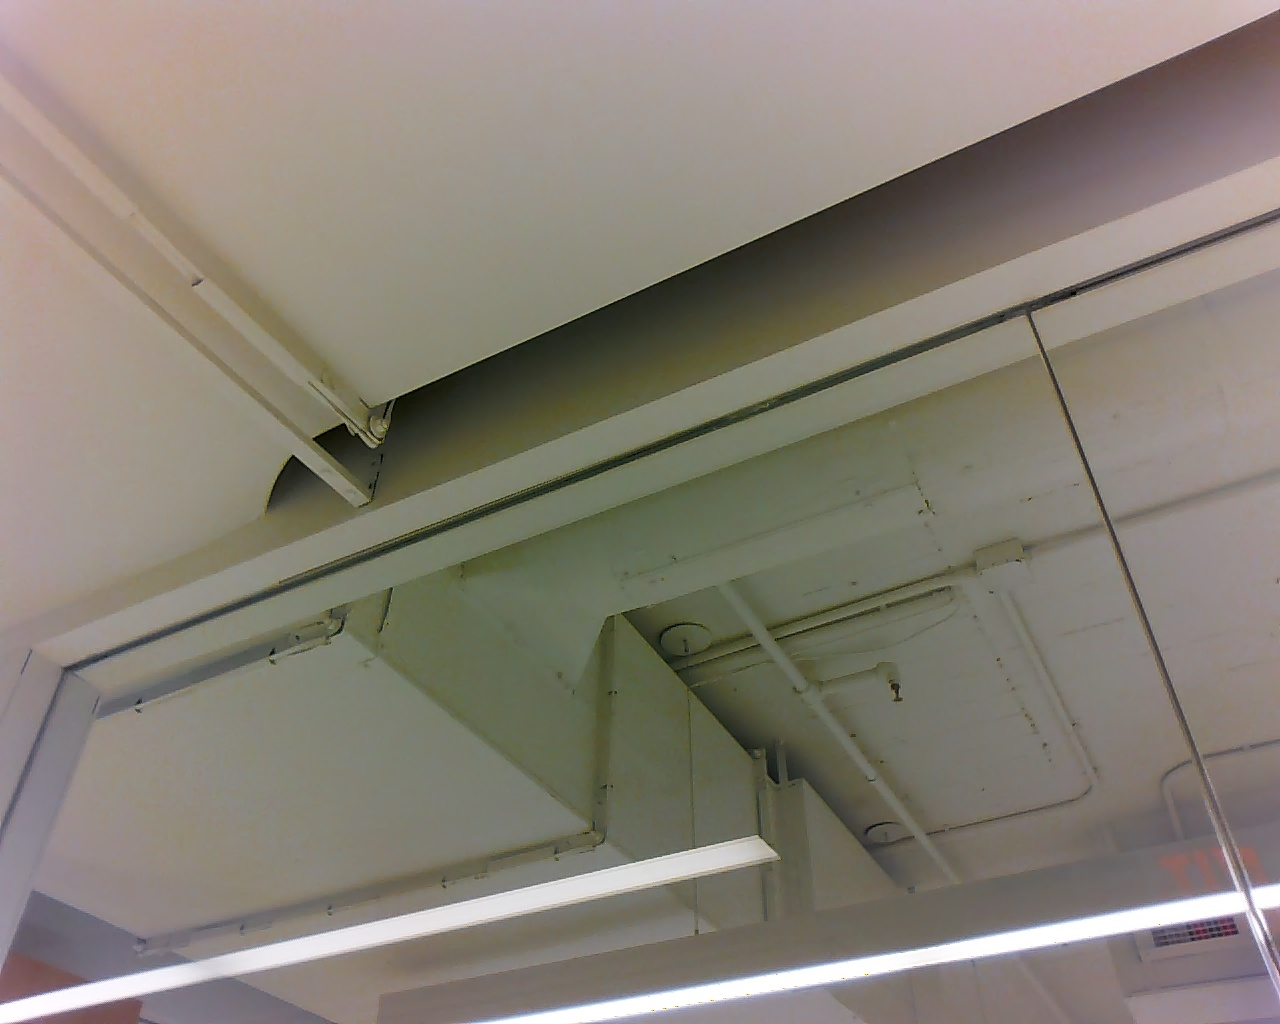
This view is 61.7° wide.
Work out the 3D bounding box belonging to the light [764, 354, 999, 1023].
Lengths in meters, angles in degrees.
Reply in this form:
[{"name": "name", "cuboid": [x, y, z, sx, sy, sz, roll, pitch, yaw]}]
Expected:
[{"name": "light", "cuboid": [0.510, 0.680, 2.120, 0.170, 2.491, 0.440, -20, -45, 21]}]
